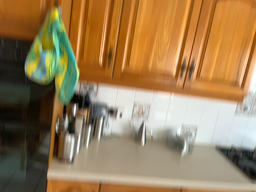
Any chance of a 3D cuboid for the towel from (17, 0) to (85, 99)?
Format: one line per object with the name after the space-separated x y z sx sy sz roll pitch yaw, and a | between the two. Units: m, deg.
-0.360 -0.220 1.000 0.250 0.430 0.100 7 13 -8 | towel
